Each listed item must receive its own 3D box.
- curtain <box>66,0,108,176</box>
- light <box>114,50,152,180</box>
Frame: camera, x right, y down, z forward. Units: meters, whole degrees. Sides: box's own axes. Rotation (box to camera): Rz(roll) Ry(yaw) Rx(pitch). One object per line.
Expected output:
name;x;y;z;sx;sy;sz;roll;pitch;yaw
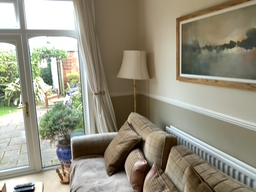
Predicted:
curtain;-0.570;-0.270;2.970;0.400;2.760;0.320;-5;10;-20
light;0.090;0.260;3.090;0.410;1.800;0.340;3;11;25
